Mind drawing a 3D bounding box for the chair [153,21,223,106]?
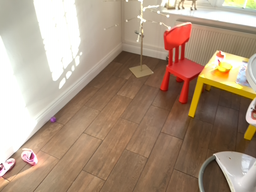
[{"bbox_3d":[0.580,-0.340,2.200,0.400,0.680,0.420,-27,47,-30],"label":"chair"}]

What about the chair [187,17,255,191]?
[{"bbox_3d":[0.790,0.200,1.140,0.590,1.190,0.600,21,43,22],"label":"chair"}]
